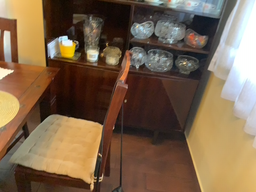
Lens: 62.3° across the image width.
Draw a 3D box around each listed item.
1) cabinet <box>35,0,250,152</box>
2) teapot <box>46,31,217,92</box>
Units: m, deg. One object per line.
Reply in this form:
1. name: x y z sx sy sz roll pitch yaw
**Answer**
1. cabinet: 0.040 -0.430 1.720 1.350 1.720 0.470 8 30 -2
2. teapot: 0.030 -0.310 1.760 1.270 0.150 0.410 10 30 1
